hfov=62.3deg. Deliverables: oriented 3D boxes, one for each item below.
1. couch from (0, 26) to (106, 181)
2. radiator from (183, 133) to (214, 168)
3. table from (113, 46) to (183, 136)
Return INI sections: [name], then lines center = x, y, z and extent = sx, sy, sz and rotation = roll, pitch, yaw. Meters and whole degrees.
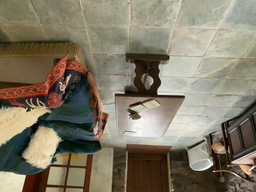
[couch]
center = -0.800, 0.250, 2.010
extent = 0.980, 0.850, 1.580
rotation = 2, 153, 0
[radiator]
center = 1.240, 1.000, 3.810
extent = 0.130, 0.450, 0.750
rotation = 8, 152, -11
[table]
center = 0.140, 0.010, 1.910
extent = 0.480, 0.450, 0.820
rotation = 2, 153, 0
